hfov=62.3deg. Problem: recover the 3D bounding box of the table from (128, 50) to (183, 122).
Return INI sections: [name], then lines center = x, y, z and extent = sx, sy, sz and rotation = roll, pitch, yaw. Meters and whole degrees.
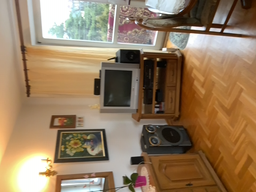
[table]
center = 0.420, -0.170, 3.530
extent = 0.580, 0.690, 1.080
rotation = -155, 67, -74
